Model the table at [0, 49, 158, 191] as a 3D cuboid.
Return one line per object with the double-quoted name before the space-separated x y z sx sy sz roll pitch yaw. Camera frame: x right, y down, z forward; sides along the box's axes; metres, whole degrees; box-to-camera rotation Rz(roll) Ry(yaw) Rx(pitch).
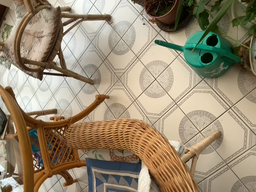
"table" -0.520 0.350 1.280 0.790 0.800 0.850 -46 65 23
